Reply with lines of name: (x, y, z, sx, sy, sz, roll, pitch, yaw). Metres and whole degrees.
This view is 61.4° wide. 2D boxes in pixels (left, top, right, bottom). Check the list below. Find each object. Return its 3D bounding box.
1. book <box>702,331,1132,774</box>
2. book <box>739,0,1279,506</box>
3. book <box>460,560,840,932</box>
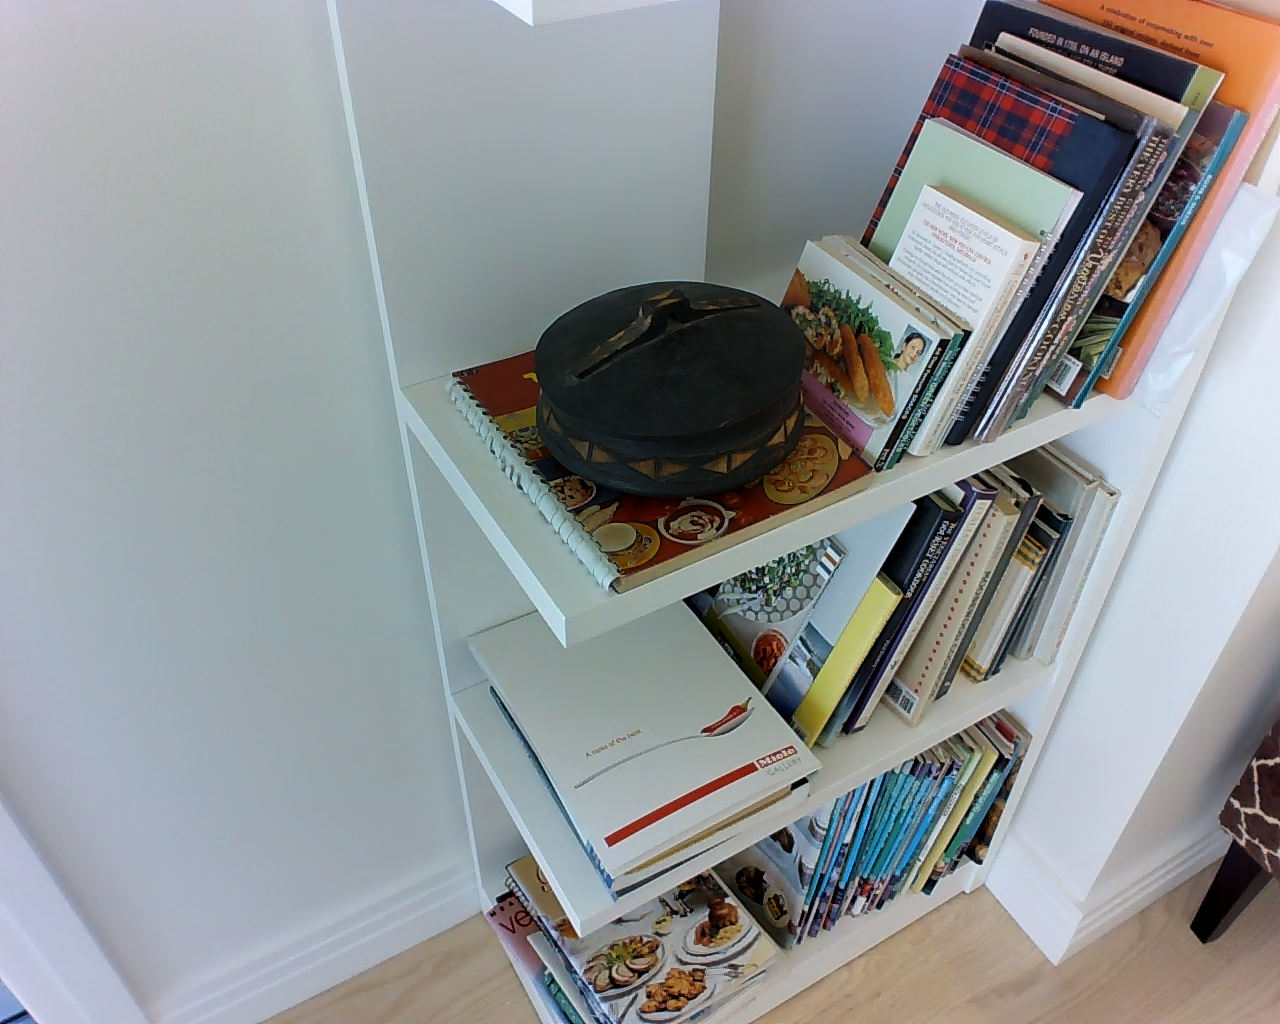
book: (0.260, 0.030, 1.120, 0.250, 0.260, 0.310, -20, 46, -22)
book: (0.290, -0.240, 0.860, 0.290, 0.280, 0.290, -20, 46, -22)
book: (0.000, 0.210, 1.060, 0.250, 0.080, 0.300, -20, 46, -22)
